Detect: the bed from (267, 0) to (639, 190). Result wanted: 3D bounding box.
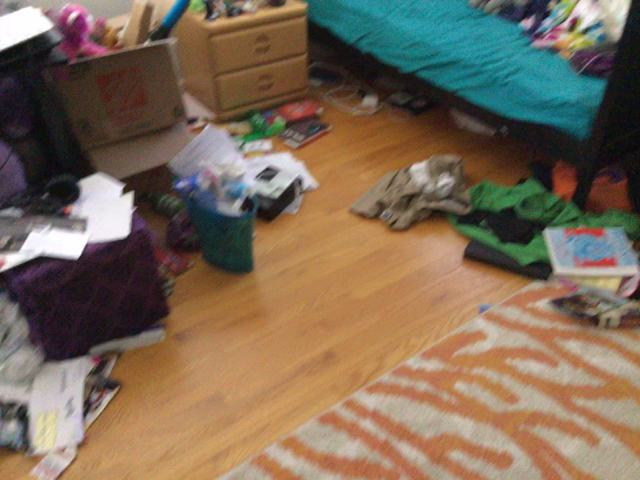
[{"bbox_3d":[0.760,-1.120,2.680,1.170,0.680,1.940,-26,43,-27],"label":"bed"}]
